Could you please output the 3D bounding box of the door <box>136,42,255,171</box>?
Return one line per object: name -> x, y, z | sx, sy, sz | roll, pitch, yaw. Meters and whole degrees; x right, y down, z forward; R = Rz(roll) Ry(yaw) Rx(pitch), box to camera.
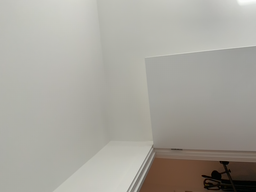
door -> 1.100, 0.100, 1.640 | 0.110, 2.020, 1.030 | -41, -54, -68
